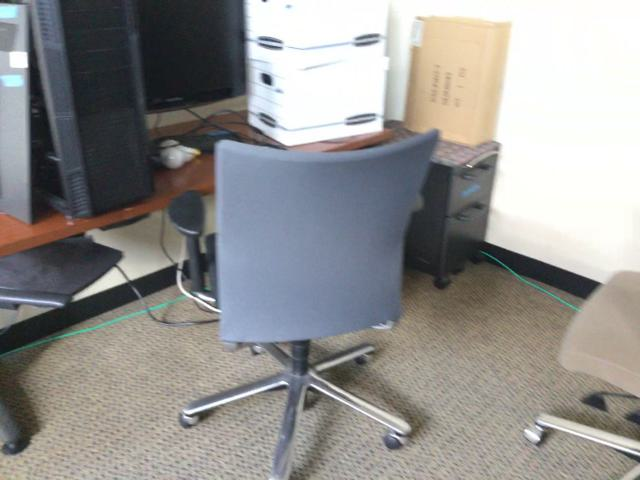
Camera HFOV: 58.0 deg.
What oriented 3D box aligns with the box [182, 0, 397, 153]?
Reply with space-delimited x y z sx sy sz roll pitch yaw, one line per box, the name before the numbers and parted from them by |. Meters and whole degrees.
box | -0.120 -0.670 2.090 0.630 0.550 0.430 19 27 37
